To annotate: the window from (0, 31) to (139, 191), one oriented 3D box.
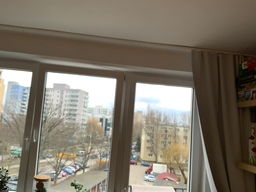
[{"bbox_3d":[-0.780,0.310,2.120,1.640,1.800,0.160,5,-7,-6],"label":"window"}]
